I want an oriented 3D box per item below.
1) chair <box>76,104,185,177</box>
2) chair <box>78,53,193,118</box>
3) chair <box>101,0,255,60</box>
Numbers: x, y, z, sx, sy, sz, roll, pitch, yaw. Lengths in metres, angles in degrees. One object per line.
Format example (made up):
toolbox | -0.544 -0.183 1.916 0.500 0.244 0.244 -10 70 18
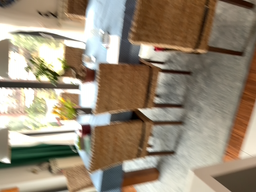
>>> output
chair | 0.010 0.400 2.250 0.570 0.940 0.470 32 117 57
chair | 0.060 -0.120 2.150 0.570 0.950 0.470 32 117 57
chair | 0.370 -0.570 1.580 0.570 0.960 0.440 32 117 57
